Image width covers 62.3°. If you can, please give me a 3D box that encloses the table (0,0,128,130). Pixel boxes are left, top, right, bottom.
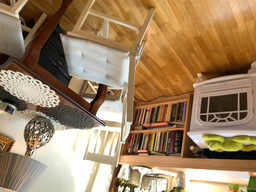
[{"bbox_3d":[-0.540,-0.210,1.690,0.730,0.740,0.590,-11,141,39],"label":"table"}]
